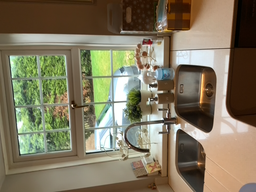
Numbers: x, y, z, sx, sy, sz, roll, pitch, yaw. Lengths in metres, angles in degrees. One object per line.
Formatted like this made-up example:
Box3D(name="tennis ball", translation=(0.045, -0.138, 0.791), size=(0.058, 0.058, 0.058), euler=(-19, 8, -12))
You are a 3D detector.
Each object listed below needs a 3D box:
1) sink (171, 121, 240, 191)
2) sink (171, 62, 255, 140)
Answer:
Box3D(name="sink", translation=(0.460, 0.380, 1.330), size=(0.360, 0.220, 0.340), euler=(-143, 52, -73))
Box3D(name="sink", translation=(0.480, -0.010, 1.250), size=(0.440, 0.260, 0.370), euler=(-143, 52, -73))
